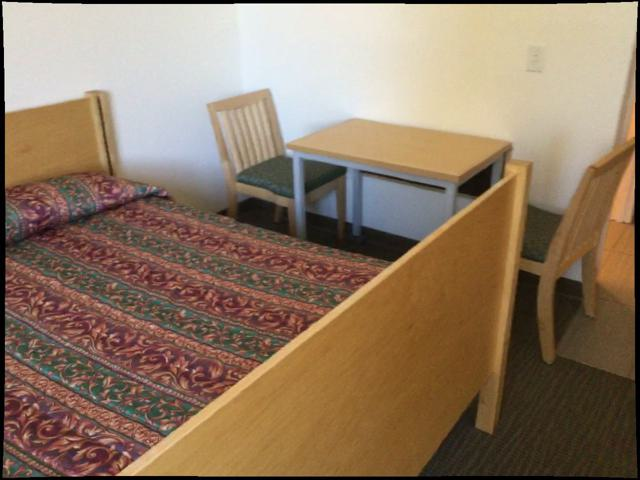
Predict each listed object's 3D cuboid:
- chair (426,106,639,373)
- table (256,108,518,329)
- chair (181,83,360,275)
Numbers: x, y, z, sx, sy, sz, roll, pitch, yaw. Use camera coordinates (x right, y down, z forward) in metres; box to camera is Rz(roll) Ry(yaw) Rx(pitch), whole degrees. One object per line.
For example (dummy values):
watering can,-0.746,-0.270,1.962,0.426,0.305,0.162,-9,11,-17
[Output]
chair,0.909,-0.050,2.500,0.630,0.861,0.620,17,32,34
table,0.320,-0.180,2.950,1.079,0.721,0.650,17,32,34
chair,-0.260,-0.390,3.340,0.780,0.841,0.580,17,32,34
